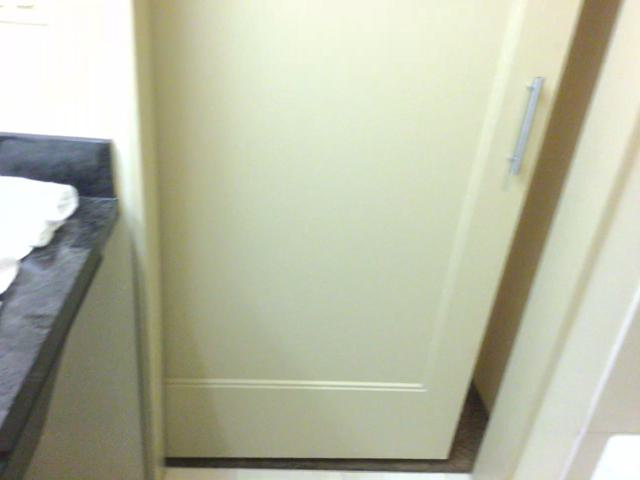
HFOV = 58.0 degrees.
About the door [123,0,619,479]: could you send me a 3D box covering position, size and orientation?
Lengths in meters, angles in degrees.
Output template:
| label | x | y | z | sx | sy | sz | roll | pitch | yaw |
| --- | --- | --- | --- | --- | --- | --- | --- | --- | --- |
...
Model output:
| label | x | y | z | sx | sy | sz | roll | pitch | yaw |
| --- | --- | --- | --- | --- | --- | --- | --- | --- | --- |
| door | 0.050 | 0.020 | 1.280 | 0.850 | 1.400 | 0.110 | 3 | 28 | -6 |
